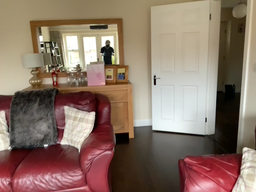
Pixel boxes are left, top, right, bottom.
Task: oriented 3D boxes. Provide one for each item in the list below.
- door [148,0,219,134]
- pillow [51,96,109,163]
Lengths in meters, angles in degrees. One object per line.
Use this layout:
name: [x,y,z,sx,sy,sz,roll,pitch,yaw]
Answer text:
door: [0.830,-0.410,3.320,0.990,1.990,0.180,2,13,18]
pillow: [-0.520,0.320,2.190,0.570,0.440,0.200,30,14,40]
